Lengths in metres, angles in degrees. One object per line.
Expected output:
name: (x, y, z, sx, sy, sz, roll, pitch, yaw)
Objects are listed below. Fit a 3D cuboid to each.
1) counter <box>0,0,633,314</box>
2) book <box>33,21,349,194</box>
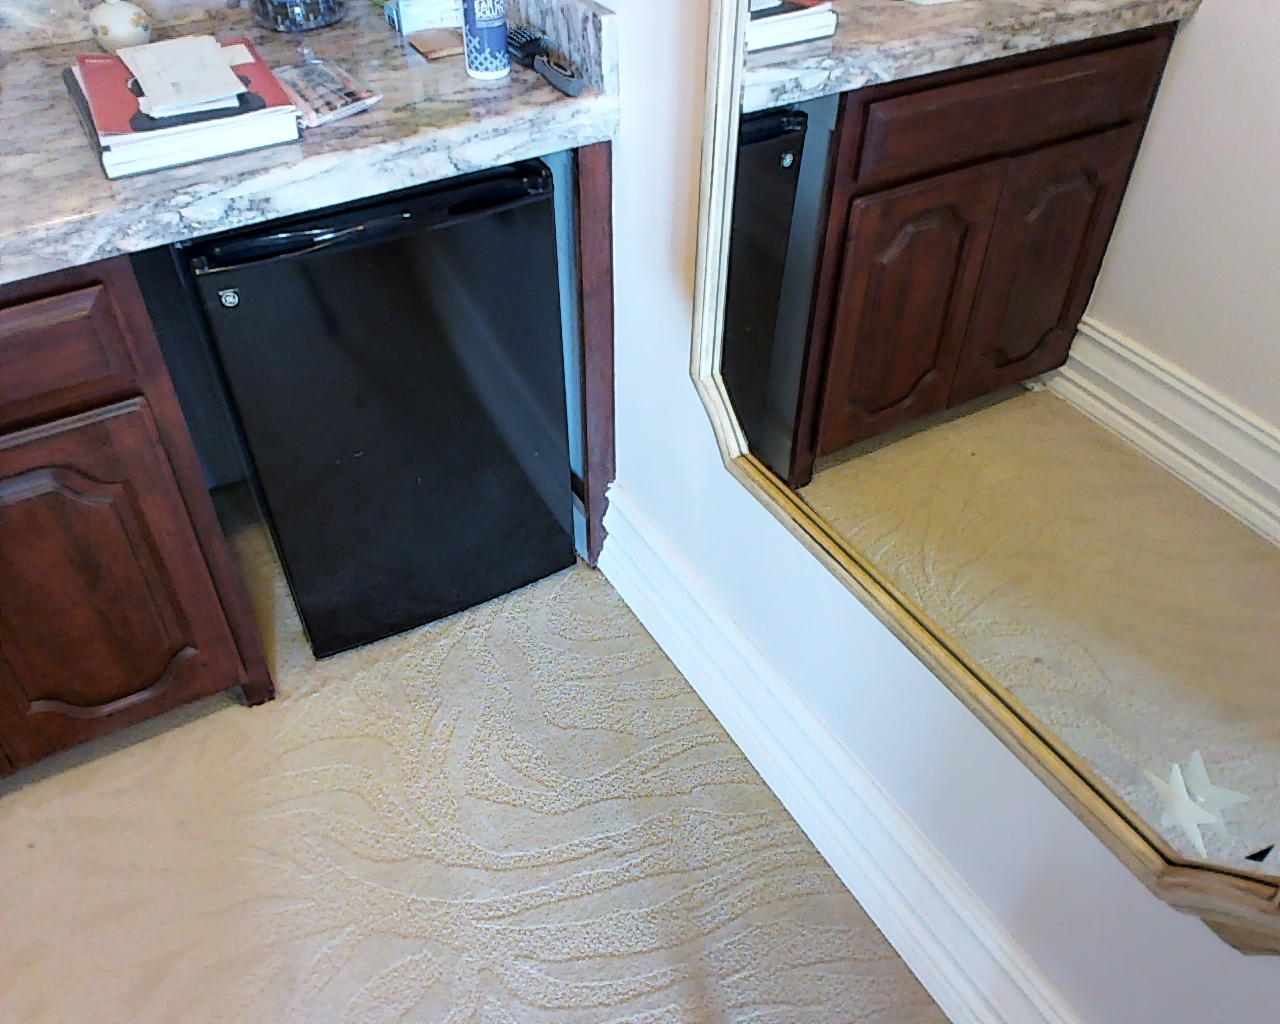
counter: (-0.790, -0.460, 1.400, 1.440, 0.080, 0.620, -20, 46, -22)
book: (-0.590, -0.540, 1.390, 0.300, 0.060, 0.340, -22, 46, -24)
